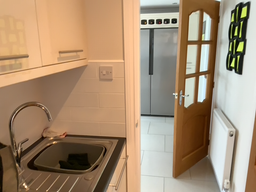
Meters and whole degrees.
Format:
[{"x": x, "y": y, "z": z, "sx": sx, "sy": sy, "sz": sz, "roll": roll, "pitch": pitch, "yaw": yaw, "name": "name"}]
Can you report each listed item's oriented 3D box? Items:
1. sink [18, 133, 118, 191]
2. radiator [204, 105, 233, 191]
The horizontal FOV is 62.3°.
[{"x": -0.330, "y": 0.390, "z": 1.280, "sx": 0.470, "sy": 0.170, "sz": 0.340, "roll": 2, "pitch": 15, "yaw": 9, "name": "sink"}, {"x": 0.900, "y": 0.510, "z": 2.170, "sx": 0.100, "sy": 0.670, "sz": 0.680, "roll": 3, "pitch": 15, "yaw": 13, "name": "radiator"}]
